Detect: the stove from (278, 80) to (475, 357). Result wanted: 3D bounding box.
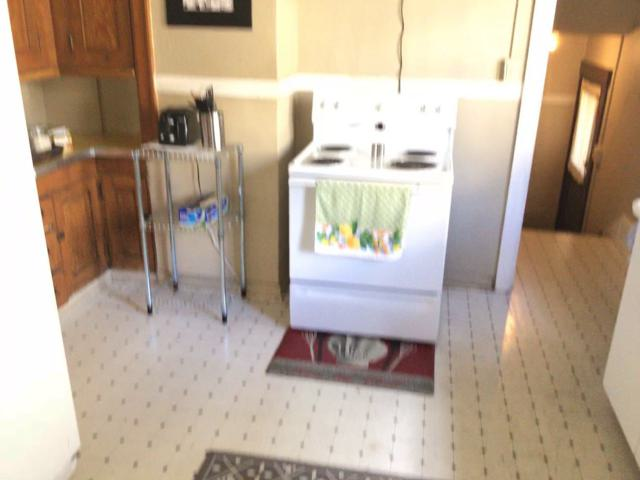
[{"bbox_3d":[0.300,-0.170,2.990,0.830,1.190,0.800,5,20,11],"label":"stove"}]

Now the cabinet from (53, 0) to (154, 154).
[{"bbox_3d":[-1.110,-1.380,2.900,0.490,1.850,0.080,7,18,10],"label":"cabinet"}]

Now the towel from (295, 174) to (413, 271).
[{"bbox_3d":[0.150,-0.080,2.650,0.520,0.400,0.080,5,20,11],"label":"towel"}]
